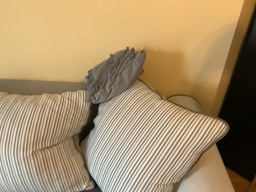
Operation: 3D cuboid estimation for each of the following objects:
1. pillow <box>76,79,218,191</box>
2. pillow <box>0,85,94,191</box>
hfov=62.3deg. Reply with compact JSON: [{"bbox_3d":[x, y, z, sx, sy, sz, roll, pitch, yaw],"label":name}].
[{"bbox_3d":[0.040,0.260,0.910,0.240,0.440,0.450,-37,69,-21],"label":"pillow"},{"bbox_3d":[-0.510,0.210,0.990,0.650,0.400,0.340,0,34,-3],"label":"pillow"}]
